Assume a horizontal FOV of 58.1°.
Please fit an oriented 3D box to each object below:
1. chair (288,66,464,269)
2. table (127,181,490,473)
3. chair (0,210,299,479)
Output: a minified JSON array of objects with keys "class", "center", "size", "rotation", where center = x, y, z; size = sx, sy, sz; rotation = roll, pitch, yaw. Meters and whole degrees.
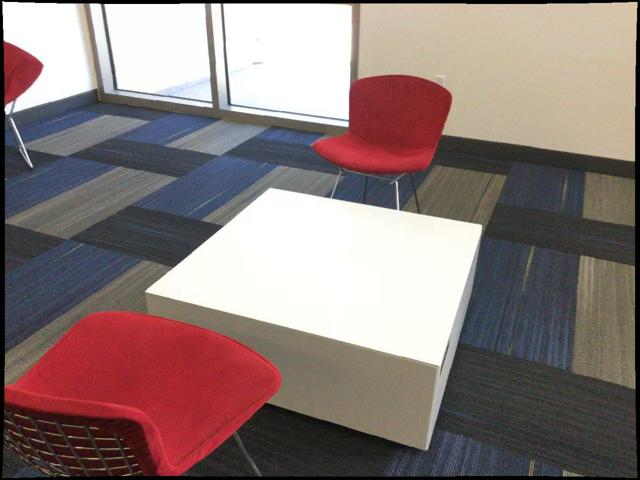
[{"class":"chair","center":[0.279,-0.381,2.760],"size":[0.619,0.711,0.640],"rotation":[11,31,21]},{"class":"table","center":[0.040,0.201,2.140],"size":[0.988,0.361,1.010],"rotation":[10,31,19]},{"class":"chair","center":[-0.429,0.421,1.270],"size":[0.549,0.721,0.560],"rotation":[12,31,23]}]
